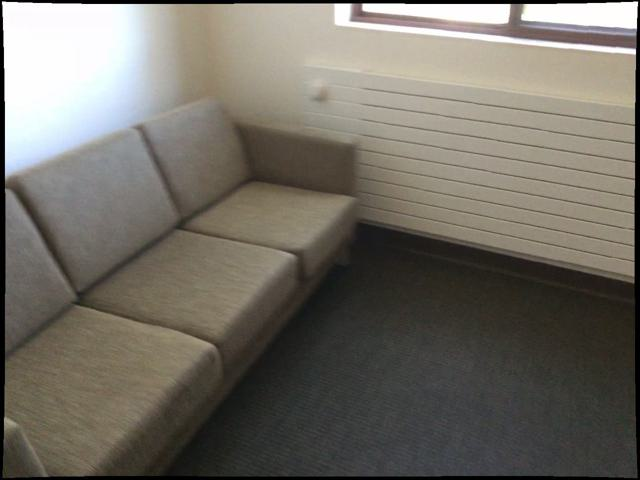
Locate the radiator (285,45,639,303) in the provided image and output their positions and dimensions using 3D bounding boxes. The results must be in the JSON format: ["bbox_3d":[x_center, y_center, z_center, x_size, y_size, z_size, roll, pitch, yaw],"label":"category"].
[{"bbox_3d":[0.729,-0.300,2.560,1.909,0.861,0.130,15,35,21],"label":"radiator"}]
